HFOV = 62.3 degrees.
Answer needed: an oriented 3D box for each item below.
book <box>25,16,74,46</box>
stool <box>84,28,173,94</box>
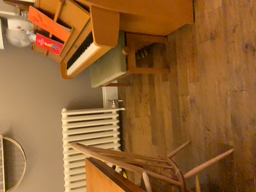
[{"bbox_3d":[-0.610,-0.490,1.640,0.290,0.310,0.110,-5,88,61],"label":"book"},{"bbox_3d":[-0.070,-0.290,2.210,1.020,0.500,0.330,-24,72,62],"label":"stool"}]
